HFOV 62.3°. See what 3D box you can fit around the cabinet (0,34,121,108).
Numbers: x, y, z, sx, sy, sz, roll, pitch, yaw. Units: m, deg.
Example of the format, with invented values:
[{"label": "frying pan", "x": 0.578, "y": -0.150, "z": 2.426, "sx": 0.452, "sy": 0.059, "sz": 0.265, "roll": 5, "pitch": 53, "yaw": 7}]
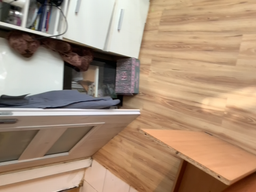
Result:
[{"label": "cabinet", "x": -0.590, "y": -0.130, "z": 1.630, "sx": 0.300, "sy": 1.190, "sz": 0.420, "roll": -6, "pitch": 83, "yaw": 44}]
